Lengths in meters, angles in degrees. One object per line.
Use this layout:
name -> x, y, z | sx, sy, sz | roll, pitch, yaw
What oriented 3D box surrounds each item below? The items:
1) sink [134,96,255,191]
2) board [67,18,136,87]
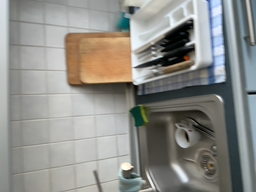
sink -> 0.230, 0.220, 0.850 | 0.440, 0.200, 0.400 | -11, 81, 62
board -> -0.120, -0.180, 0.960 | 0.120, 0.280, 0.260 | -8, 83, 63
